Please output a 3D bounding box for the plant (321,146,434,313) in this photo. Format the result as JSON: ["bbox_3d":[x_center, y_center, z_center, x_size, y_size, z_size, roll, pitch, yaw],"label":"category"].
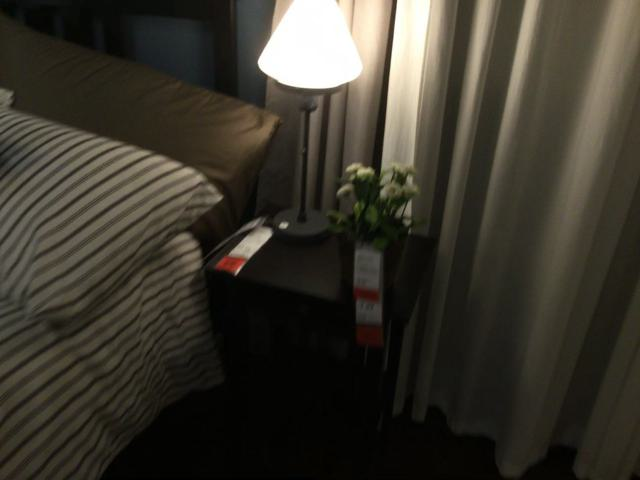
[{"bbox_3d":[0.120,-0.030,1.190,0.180,0.250,0.220,9,28,10],"label":"plant"}]
